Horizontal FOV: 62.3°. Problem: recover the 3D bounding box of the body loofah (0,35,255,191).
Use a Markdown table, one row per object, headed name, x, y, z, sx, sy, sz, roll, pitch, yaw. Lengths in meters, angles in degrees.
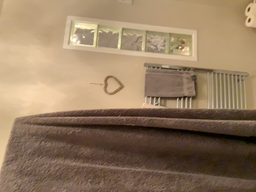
| name | x | y | z | sx | sy | sz | roll | pitch | yaw |
| --- | --- | --- | --- | --- | --- | --- | --- | --- | --- |
| body loofah | 0.180 | 0.190 | 0.720 | 0.460 | 1.190 | 0.460 | 107 | 166 | -63 |
